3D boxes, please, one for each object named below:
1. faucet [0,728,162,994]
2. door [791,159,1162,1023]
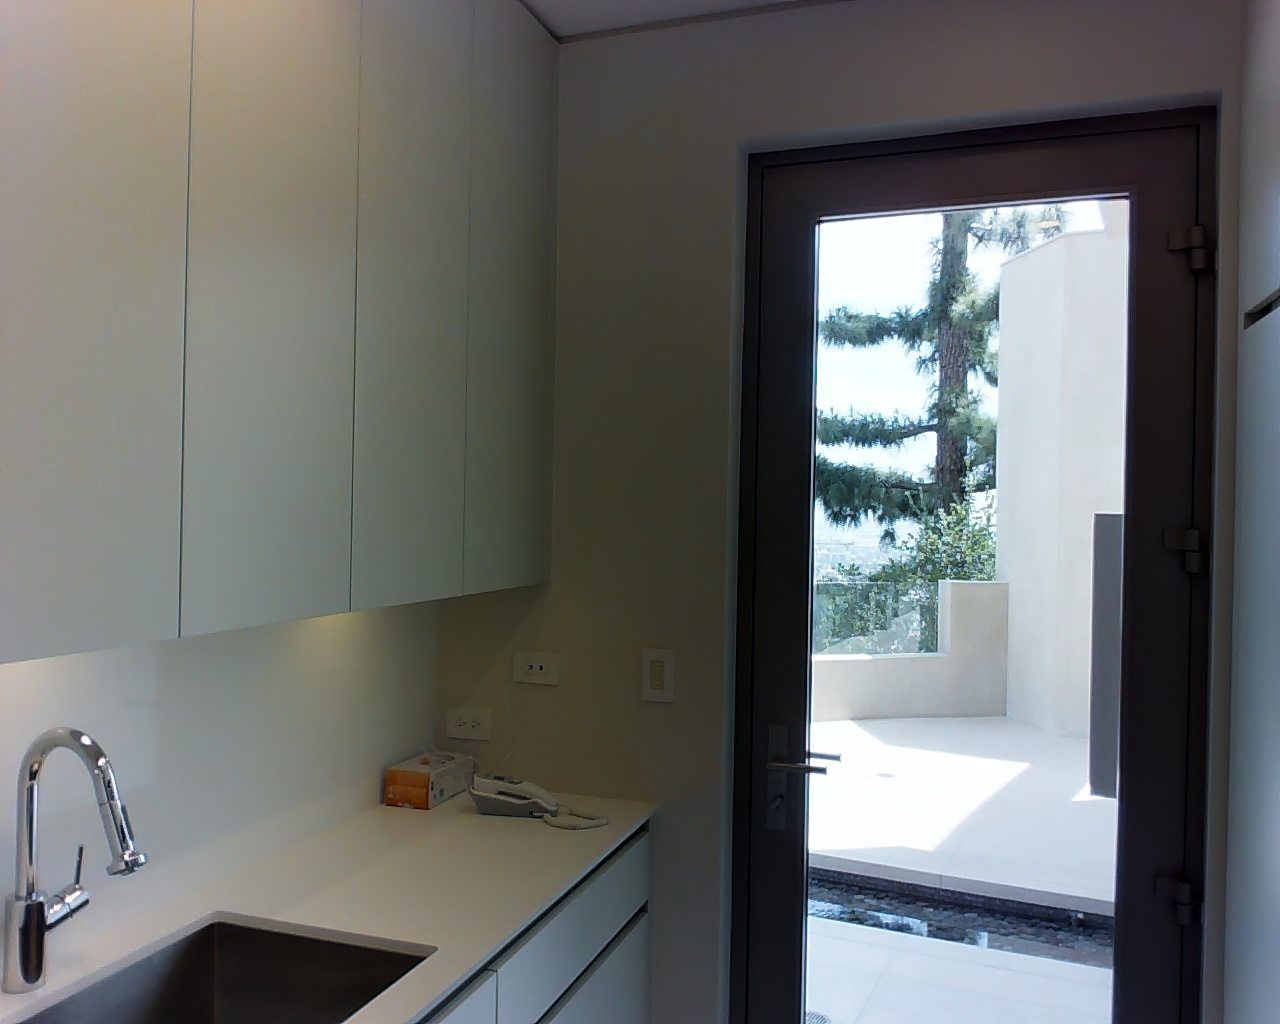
[{"bbox_3d":[-0.840,0.510,1.620,0.070,0.320,0.240,1,0,18],"label":"faucet"},{"bbox_3d":[0.710,0.450,2.340,0.710,2.320,0.160,1,0,20],"label":"door"}]
